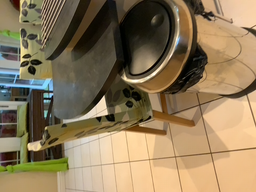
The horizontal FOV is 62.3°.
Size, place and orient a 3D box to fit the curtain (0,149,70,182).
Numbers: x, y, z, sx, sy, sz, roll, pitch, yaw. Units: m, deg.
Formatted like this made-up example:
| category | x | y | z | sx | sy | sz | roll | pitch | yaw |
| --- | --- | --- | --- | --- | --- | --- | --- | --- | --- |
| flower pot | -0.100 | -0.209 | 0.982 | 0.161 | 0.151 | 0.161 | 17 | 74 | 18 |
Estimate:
| category | x | y | z | sx | sy | sz | roll | pitch | yaw |
| --- | --- | --- | --- | --- | --- | --- | --- | --- | --- |
| curtain | -1.910 | 1.030 | 2.920 | 0.220 | 2.160 | 0.330 | -32 | 63 | 51 |

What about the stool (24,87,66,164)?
| category | x | y | z | sx | sy | sz | roll | pitch | yaw |
| --- | --- | --- | --- | --- | --- | --- | --- | --- | --- |
| stool | -1.440 | 0.490 | 3.630 | 0.460 | 0.540 | 1.190 | -29 | 64 | 51 |
